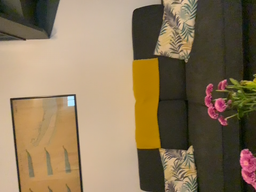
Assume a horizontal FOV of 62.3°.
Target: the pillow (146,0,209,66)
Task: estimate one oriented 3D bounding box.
[{"bbox_3d":[0.400,-0.580,1.800,0.160,0.310,0.550,-23,-42,-48],"label":"pillow"}]
